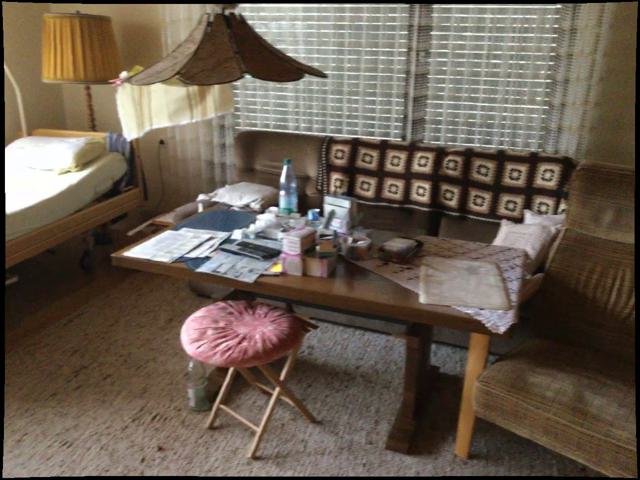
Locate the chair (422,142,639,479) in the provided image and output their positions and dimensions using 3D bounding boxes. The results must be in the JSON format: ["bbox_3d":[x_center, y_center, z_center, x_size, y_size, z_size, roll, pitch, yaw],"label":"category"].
[{"bbox_3d":[0.999,0.290,2.050,0.800,1.021,0.980,17,26,35],"label":"chair"}]

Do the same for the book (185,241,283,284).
[{"bbox_3d":[-0.320,0.080,2.170,0.300,0.040,0.210,8,22,17],"label":"book"}]

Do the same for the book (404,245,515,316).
[{"bbox_3d":[0.519,0.130,2.090,0.340,0.020,0.470,8,22,17],"label":"book"}]

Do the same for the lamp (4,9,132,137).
[{"bbox_3d":[-1.598,-1.091,3.740,0.470,0.731,0.490,8,22,17],"label":"lamp"}]
